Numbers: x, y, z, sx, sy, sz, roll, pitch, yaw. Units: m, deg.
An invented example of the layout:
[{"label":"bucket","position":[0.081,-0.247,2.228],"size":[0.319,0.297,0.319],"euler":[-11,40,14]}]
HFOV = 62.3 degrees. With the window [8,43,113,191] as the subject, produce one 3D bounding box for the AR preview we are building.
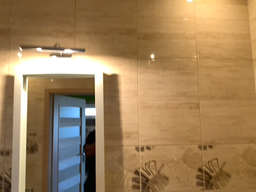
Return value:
[{"label":"window","position":[-0.340,0.190,1.140],"size":[0.510,0.930,0.130],"euler":[-1,-6,-4]}]
